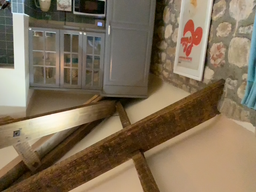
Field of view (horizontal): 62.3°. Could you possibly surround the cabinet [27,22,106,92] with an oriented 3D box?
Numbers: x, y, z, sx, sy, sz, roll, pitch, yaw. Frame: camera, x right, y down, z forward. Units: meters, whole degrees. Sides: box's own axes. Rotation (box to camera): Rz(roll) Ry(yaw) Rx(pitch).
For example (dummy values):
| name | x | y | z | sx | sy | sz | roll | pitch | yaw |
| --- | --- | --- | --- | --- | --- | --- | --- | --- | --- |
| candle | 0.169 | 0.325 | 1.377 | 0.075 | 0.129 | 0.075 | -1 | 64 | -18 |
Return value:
| name | x | y | z | sx | sy | sz | roll | pitch | yaw |
| --- | --- | --- | --- | --- | --- | --- | --- | --- | --- |
| cabinet | -0.880 | -0.560 | 3.140 | 1.010 | 0.880 | 0.480 | 2 | -167 | -11 |
